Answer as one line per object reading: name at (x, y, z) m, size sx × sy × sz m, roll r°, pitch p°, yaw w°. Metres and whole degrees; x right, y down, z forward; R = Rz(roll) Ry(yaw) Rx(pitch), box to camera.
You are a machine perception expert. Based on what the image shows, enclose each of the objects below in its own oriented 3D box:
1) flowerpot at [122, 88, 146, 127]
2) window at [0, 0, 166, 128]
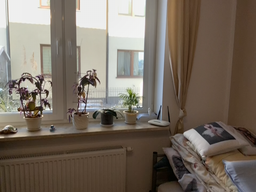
flowerpot at (0.050, 0.100, 2.040) m, size 0.170 × 0.340 × 0.220 m, roll 0°, pitch 8°, yaw -15°
window at (-0.530, -0.470, 1.890) m, size 1.620 × 1.350 × 0.500 m, roll -1°, pitch 8°, yaw -17°
